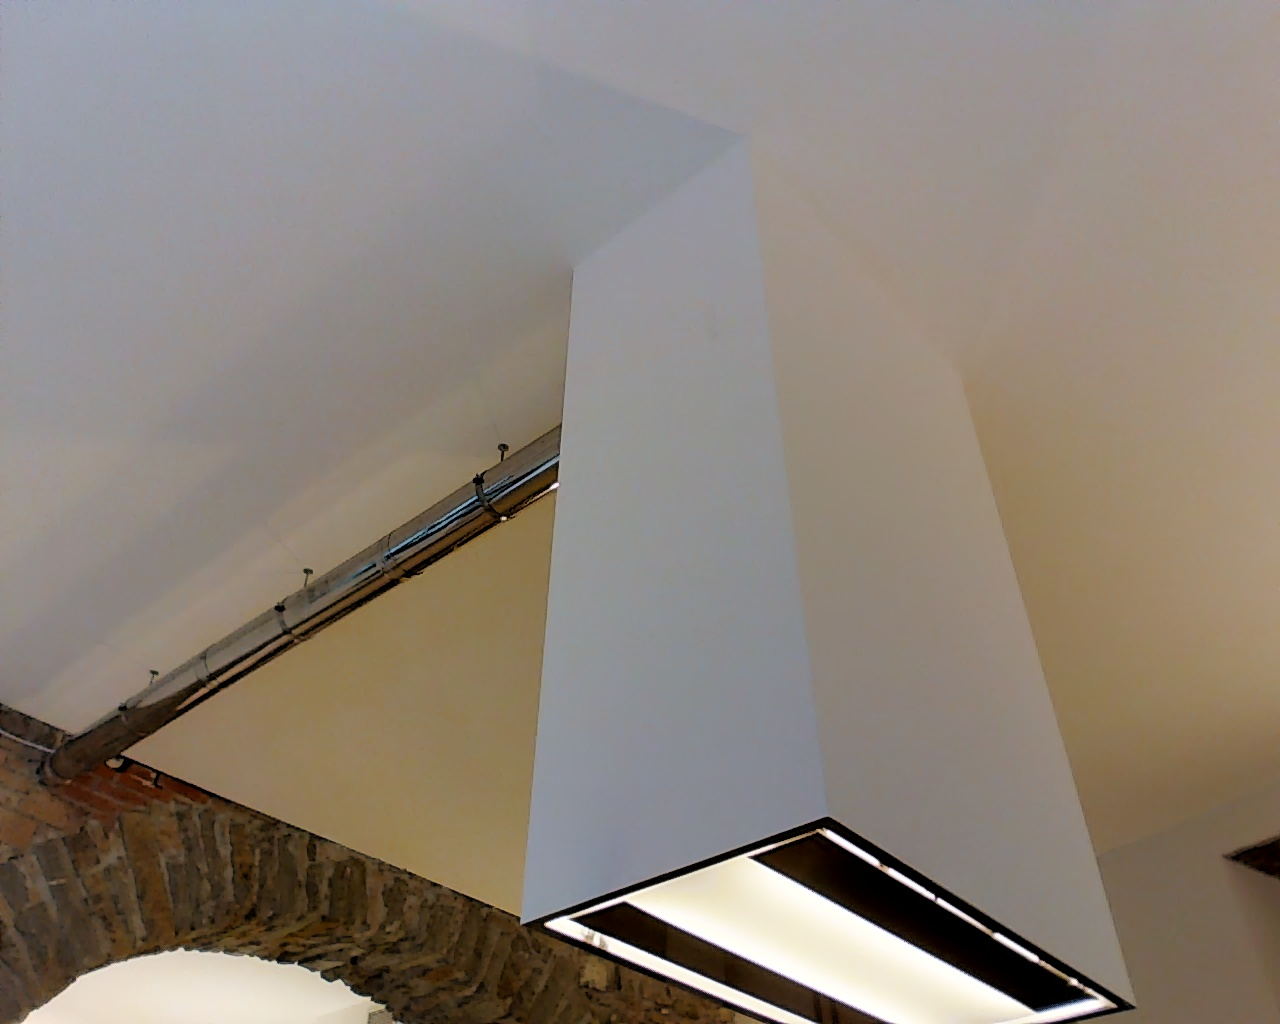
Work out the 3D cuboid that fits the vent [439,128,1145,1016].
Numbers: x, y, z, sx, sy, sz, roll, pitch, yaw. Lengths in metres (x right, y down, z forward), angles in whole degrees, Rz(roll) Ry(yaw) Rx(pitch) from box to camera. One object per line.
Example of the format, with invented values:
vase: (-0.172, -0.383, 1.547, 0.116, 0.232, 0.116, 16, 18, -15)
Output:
vent: (0.370, 0.150, 2.280, 1.100, 1.650, 0.610, -8, 18, 8)
